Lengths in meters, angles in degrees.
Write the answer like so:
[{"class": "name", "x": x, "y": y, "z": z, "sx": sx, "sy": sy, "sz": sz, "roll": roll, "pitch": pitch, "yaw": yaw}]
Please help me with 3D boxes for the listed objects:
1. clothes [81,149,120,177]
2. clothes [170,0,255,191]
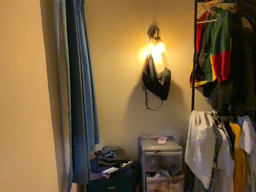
[{"class": "clothes", "x": -0.250, "y": 0.630, "z": 2.020, "sx": 0.340, "sy": 0.140, "sz": 0.270, "roll": -2, "pitch": 8, "yaw": -2}, {"class": "clothes", "x": 1.410, "y": 0.150, "z": 2.040, "sx": 1.880, "sy": 2.160, "sz": 0.580, "roll": -2, "pitch": 8, "yaw": -2}]
